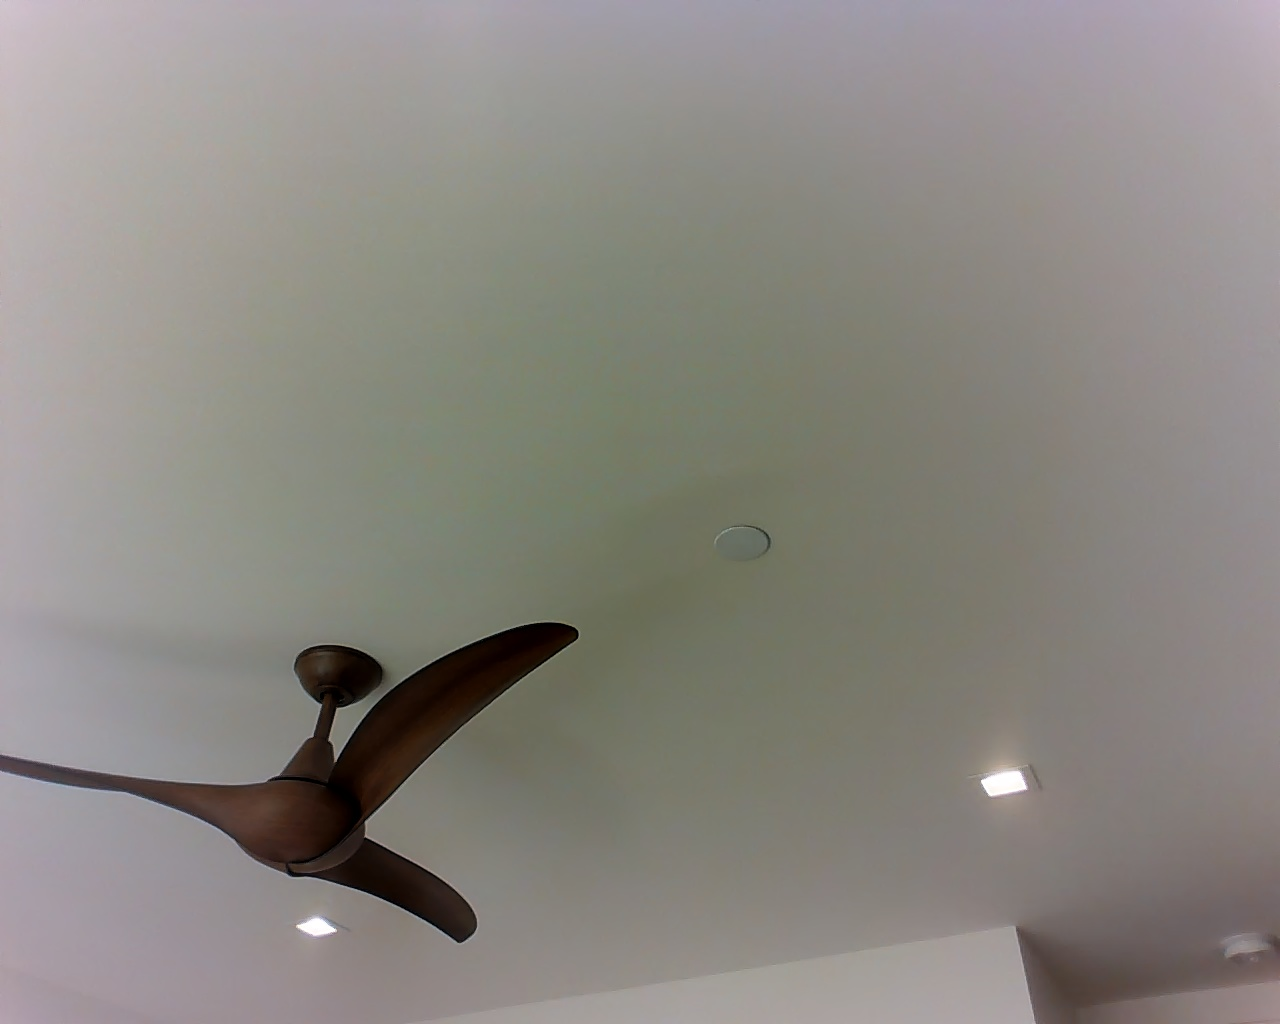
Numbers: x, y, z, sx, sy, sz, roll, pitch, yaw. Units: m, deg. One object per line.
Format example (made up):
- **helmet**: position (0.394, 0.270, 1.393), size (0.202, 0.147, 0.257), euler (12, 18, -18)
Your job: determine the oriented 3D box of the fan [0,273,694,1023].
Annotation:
- **fan**: position (-0.530, 0.500, 1.860), size (0.370, 1.220, 1.260), euler (1, -35, 35)
